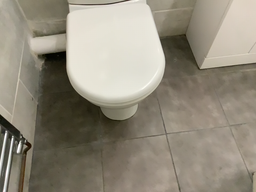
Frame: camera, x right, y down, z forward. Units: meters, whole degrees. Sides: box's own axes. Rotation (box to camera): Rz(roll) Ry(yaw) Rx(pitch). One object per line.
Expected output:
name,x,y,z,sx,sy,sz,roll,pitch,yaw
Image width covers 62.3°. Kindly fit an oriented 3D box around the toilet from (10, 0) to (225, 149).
toilet,-0.060,-0.260,0.890,0.400,0.790,0.680,-8,59,-5
